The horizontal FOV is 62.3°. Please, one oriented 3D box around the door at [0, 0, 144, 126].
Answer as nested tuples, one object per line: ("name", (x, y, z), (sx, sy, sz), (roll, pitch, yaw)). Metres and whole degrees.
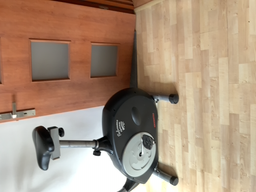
("door", (-0.710, -0.240, 1.440), (0.080, 2.060, 0.860), (24, 114, 45))
